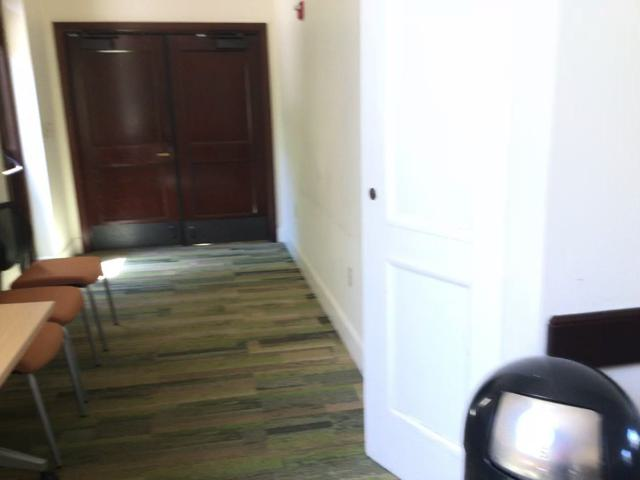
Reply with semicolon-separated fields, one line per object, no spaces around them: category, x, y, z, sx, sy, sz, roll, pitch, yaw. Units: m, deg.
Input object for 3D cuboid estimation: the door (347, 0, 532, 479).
door;0.350;-0.090;1.880;0.070;2.060;0.650;-11;15;-38
